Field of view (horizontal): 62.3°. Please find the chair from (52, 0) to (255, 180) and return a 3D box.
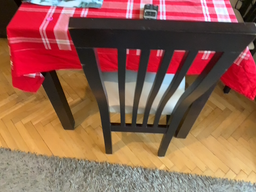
[{"bbox_3d":[0.050,-0.050,0.950,0.410,0.990,0.560,1,54,-2],"label":"chair"}]
